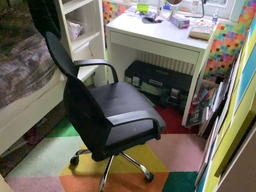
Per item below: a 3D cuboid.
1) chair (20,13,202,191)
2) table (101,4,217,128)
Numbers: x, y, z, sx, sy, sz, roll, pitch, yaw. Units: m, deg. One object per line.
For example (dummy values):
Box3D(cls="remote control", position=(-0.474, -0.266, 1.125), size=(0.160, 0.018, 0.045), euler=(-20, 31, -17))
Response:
Box3D(cls="chair", position=(-0.110, 0.100, 1.300), size=(0.650, 0.900, 0.600), euler=(-22, 46, -24))
Box3D(cls="table", position=(0.260, -0.290, 1.900), size=(0.740, 0.740, 0.590), euler=(19, 44, 20))
